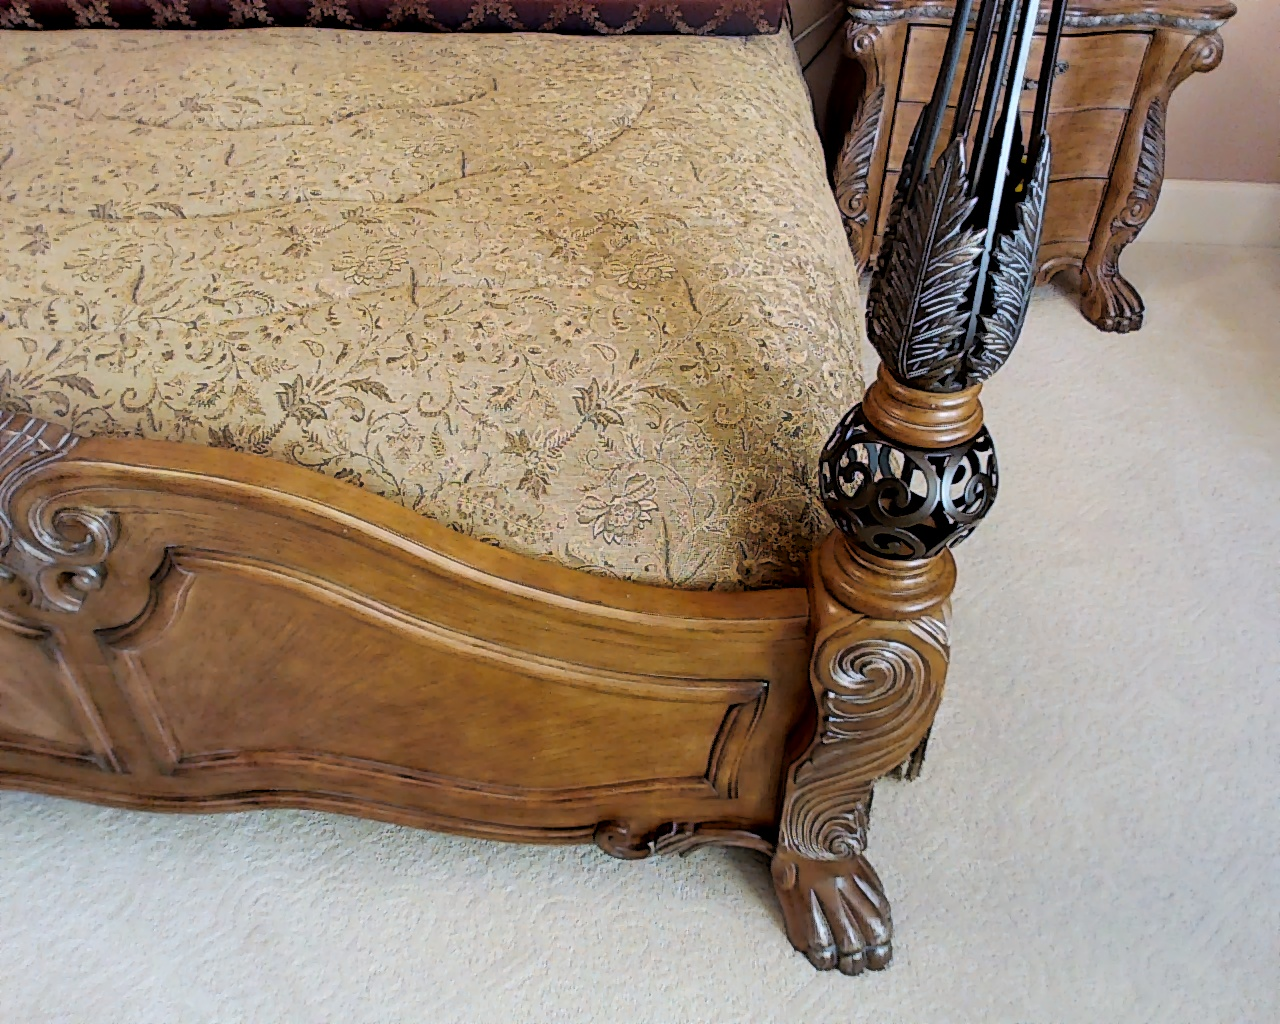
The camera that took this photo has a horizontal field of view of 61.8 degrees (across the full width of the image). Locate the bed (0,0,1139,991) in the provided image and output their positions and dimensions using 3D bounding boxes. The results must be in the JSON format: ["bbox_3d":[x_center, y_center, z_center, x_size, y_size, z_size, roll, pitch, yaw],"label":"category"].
[{"bbox_3d":[-0.680,-0.530,2.240,2.390,0.990,2.460,3,41,2],"label":"bed"}]
